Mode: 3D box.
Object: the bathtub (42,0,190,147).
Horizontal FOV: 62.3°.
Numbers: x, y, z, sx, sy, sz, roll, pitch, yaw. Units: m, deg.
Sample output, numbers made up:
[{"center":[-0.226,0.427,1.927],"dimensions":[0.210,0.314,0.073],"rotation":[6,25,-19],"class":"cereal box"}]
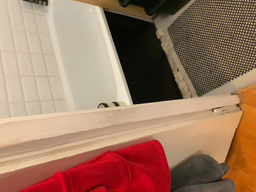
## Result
[{"center":[-0.180,-0.410,1.690],"dimensions":[0.670,0.540,1.400],"rotation":[-32,70,45],"class":"bathtub"}]
